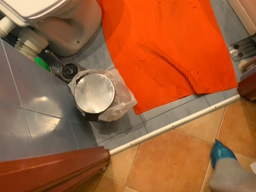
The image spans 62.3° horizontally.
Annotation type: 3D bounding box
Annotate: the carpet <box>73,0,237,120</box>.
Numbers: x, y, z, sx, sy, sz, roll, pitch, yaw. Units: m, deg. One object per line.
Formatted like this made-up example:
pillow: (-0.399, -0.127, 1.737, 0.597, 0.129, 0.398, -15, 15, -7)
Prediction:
carpet: (0.080, -0.410, 1.150, 0.670, 0.040, 0.920, -17, 78, 1)
